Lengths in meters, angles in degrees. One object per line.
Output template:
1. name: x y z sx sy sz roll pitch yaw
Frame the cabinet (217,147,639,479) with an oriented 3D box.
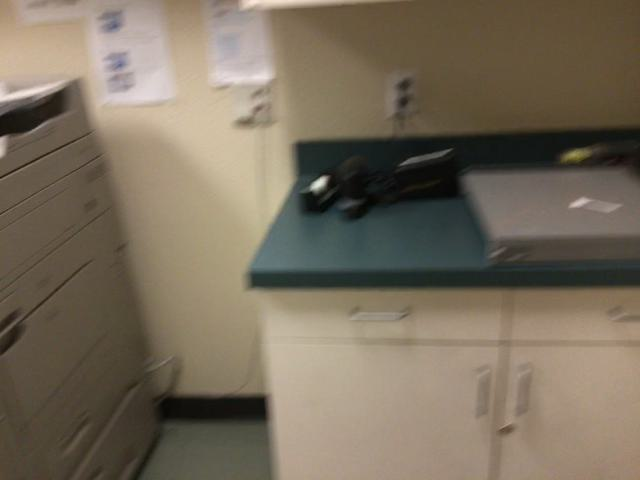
1. cabinet: 0.420 0.320 1.400 1.030 0.920 0.780 -1 19 8

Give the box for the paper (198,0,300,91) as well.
1. paper: -0.190 -0.630 1.470 0.240 0.470 0.040 -1 19 8

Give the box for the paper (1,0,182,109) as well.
1. paper: -0.620 -0.620 1.530 0.440 0.510 0.050 -1 19 8

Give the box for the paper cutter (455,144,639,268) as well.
1. paper cutter: 0.500 -0.090 1.220 0.380 0.130 0.460 -1 19 8
